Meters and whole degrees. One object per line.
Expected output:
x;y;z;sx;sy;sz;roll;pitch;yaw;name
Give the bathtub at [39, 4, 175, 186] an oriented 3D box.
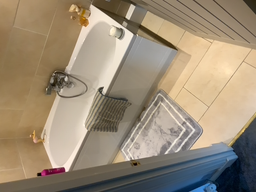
-0.330;0.040;2.270;0.740;0.570;1.650;46;117;39;bathtub
